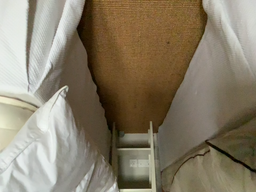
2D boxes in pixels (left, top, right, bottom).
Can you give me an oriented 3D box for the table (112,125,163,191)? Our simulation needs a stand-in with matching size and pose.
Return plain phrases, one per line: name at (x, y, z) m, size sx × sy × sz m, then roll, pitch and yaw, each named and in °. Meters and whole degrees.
table at (0.090, 0.710, 2.250) m, size 0.470 × 0.720 × 0.400 m, roll -1°, pitch 157°, yaw 0°
